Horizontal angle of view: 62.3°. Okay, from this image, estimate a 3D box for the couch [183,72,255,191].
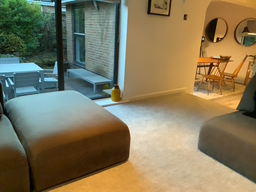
[{"bbox_3d":[1.310,0.240,1.990,1.250,0.720,0.840,-9,22,-36],"label":"couch"}]
